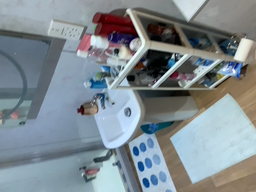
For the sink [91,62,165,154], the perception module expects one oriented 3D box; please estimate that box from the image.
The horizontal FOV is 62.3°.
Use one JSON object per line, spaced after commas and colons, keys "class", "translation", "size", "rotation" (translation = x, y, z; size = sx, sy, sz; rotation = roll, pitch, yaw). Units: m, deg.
{"class": "sink", "translation": [-0.040, 0.100, 1.500], "size": [0.560, 0.150, 0.390], "rotation": [-50, 52, 41]}
